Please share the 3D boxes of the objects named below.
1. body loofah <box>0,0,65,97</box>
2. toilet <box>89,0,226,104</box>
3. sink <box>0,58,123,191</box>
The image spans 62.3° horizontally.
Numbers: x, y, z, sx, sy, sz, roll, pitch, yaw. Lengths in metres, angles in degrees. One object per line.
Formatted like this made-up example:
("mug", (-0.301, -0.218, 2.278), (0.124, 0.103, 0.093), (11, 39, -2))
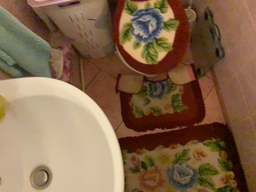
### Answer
("body loofah", (-0.440, -0.220, 0.740), (0.130, 0.800, 0.210), (-11, 73, 2))
("toilet", (0.070, -0.440, 1.070), (0.380, 0.760, 0.740), (-9, 73, 3))
("sink", (-0.240, 0.200, 0.510), (0.430, 0.150, 0.500), (-9, 73, 3))
